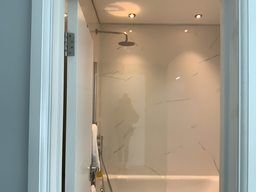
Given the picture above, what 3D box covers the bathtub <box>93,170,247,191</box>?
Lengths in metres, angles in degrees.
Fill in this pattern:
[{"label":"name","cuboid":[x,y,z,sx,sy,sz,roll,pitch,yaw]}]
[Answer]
[{"label":"bathtub","cuboid":[0.450,1.290,2.550,1.650,0.540,0.690,1,-1,-1]}]
